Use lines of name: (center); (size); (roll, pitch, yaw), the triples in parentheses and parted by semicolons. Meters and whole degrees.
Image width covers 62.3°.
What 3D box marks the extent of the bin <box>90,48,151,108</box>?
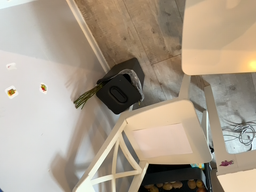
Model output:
bin: (-0.030, -0.130, 1.410); (0.270, 0.360, 0.190); (-18, 115, 23)

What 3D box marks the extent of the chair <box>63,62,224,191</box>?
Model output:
chair: (0.170, 0.280, 1.230); (0.550, 0.900, 0.480); (-19, 115, 23)
